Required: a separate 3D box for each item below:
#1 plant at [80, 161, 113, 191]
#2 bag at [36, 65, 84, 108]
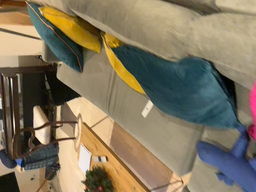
[{"bbox_3d":[-0.310,0.840,2.010,0.310,0.130,0.270,37,124,39],"label":"plant"},{"bbox_3d":[-0.910,-0.140,2.810,0.440,0.420,0.320,54,134,27],"label":"bag"}]
